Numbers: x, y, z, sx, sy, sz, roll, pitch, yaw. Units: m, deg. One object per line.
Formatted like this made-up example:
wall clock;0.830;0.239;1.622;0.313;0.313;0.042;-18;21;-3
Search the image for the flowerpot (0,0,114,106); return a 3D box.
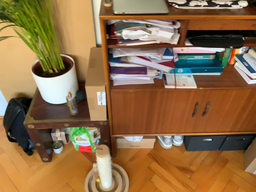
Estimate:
flowerpot;-0.540;-0.540;1.120;0.880;1.230;0.440;0;43;-1
